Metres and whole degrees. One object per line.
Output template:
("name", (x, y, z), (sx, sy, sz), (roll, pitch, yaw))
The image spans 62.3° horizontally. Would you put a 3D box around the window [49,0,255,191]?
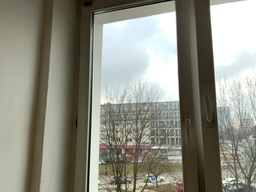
("window", (0.390, 0.080, 1.000), (1.600, 1.670, 0.250), (-4, -10, 20))
